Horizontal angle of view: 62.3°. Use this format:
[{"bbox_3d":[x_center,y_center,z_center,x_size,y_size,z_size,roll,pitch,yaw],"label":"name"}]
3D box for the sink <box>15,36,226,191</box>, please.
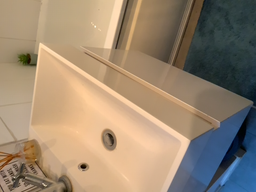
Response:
[{"bbox_3d":[-0.110,0.140,0.590,0.550,0.130,0.450,31,114,34],"label":"sink"}]
